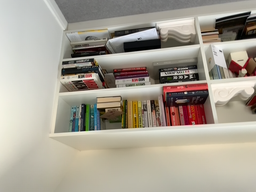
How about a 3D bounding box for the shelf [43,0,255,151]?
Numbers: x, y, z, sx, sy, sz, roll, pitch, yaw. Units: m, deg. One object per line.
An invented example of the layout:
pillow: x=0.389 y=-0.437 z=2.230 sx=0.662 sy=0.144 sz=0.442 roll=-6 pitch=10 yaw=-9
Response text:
shelf: x=0.460 y=-0.130 z=1.460 sx=1.880 sy=0.840 sz=0.440 roll=-5 pitch=157 yaw=8
